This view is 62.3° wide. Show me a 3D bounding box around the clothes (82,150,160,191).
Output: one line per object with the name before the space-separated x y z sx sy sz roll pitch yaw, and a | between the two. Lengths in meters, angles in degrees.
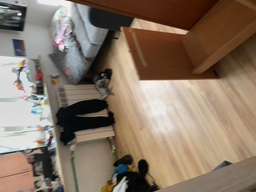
clothes | -0.080 0.930 2.130 0.570 0.470 0.510 -49 54 43

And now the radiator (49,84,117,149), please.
radiator | -0.580 0.220 2.710 0.130 0.660 0.820 -51 52 42

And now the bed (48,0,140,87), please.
bed | -0.480 -1.170 2.670 1.960 0.390 1.160 -50 52 42
